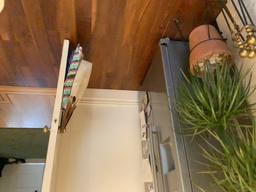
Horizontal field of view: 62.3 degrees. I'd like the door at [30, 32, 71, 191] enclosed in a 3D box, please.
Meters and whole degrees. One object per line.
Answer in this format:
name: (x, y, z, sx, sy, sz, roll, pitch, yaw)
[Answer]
door: (-0.620, 0.570, 1.760, 0.140, 2.090, 0.870, 3, 151, -13)
